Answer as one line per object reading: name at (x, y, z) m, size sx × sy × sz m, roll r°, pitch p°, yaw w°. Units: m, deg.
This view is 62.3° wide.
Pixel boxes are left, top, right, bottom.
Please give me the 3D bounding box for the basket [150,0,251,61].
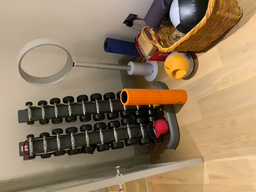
basket at (0.530, -0.640, 1.690) m, size 0.560 × 0.350 × 0.490 m, roll -35°, pitch 62°, yaw 53°
